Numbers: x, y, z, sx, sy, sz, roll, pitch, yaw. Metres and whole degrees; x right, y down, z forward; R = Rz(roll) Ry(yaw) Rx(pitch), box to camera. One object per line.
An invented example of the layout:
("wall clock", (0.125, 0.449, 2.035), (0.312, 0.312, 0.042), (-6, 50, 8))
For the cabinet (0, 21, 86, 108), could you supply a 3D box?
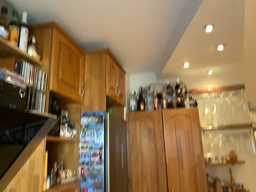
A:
("cabinet", (-0.610, -0.200, 1.610), (0.410, 0.480, 0.450), (-5, -14, 12))
